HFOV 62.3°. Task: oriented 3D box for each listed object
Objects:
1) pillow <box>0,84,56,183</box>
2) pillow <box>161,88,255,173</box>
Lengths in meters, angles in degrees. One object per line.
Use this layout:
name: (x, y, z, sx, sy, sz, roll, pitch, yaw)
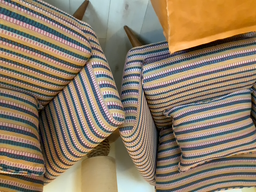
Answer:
pillow: (-0.530, 0.100, 0.750, 0.470, 0.310, 0.150, 16, 124, -22)
pillow: (0.470, 0.150, 1.120, 0.480, 0.400, 0.150, -13, 112, -2)
